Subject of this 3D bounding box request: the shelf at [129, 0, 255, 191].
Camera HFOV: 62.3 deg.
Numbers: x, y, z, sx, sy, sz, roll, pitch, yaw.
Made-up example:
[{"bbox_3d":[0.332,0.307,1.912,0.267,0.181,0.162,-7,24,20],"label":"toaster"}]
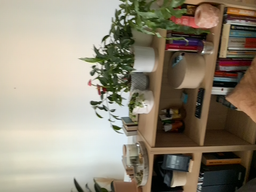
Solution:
[{"bbox_3d":[0.590,0.280,1.420,0.320,1.050,1.640,-139,52,-72],"label":"shelf"}]
